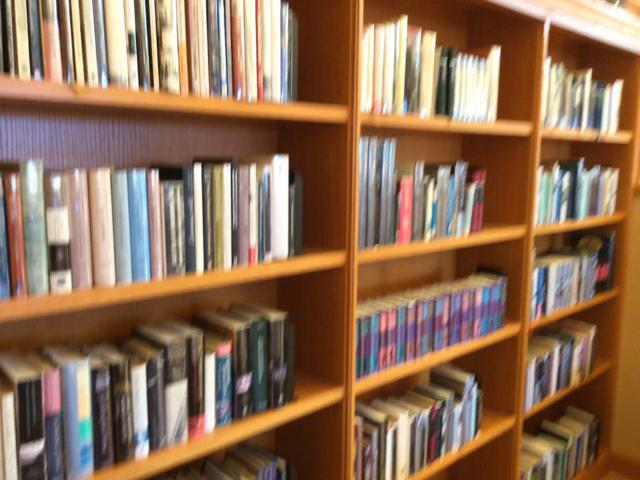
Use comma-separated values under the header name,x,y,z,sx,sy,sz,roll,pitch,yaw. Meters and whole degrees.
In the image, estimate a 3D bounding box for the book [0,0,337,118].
name,x,y,z,sx,sy,sz,roll,pitch,yaw
book,-0.310,-0.400,1.170,0.870,0.270,0.090,-9,11,-42

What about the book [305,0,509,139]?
name,x,y,z,sx,sy,sz,roll,pitch,yaw
book,0.300,-0.520,1.710,0.810,0.430,0.110,-9,11,-42

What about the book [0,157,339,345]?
name,x,y,z,sx,sy,sz,roll,pitch,yaw
book,-0.330,-0.020,1.270,0.880,0.300,0.160,-9,11,-42

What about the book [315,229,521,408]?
name,x,y,z,sx,sy,sz,roll,pitch,yaw
book,0.370,0.210,1.910,0.900,0.390,0.140,-9,11,-42

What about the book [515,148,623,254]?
name,x,y,z,sx,sy,sz,roll,pitch,yaw
book,1.030,-0.180,2.360,0.650,0.380,0.140,-9,11,-42

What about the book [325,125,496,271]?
name,x,y,z,sx,sy,sz,roll,pitch,yaw
book,0.310,-0.150,1.780,0.690,0.380,0.110,-9,11,-42

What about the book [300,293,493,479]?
name,x,y,z,sx,sy,sz,roll,pitch,yaw
book,0.290,0.550,1.930,0.740,0.600,0.200,-9,11,-42

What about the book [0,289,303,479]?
name,x,y,z,sx,sy,sz,roll,pitch,yaw
book,-0.410,0.340,1.300,0.780,0.300,0.220,-9,11,-42

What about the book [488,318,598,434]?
name,x,y,z,sx,sy,sz,roll,pitch,yaw
book,0.950,0.550,2.440,0.560,0.300,0.200,-9,11,-42

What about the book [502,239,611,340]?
name,x,y,z,sx,sy,sz,roll,pitch,yaw
book,1.010,0.190,2.450,0.540,0.310,0.210,-9,11,-42

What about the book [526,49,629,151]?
name,x,y,z,sx,sy,sz,roll,pitch,yaw
book,1.050,-0.540,2.320,0.700,0.350,0.100,-9,11,-42

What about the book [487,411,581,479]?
name,x,y,z,sx,sy,sz,roll,pitch,yaw
book,0.920,1.030,2.470,0.510,0.410,0.160,-9,11,-42
